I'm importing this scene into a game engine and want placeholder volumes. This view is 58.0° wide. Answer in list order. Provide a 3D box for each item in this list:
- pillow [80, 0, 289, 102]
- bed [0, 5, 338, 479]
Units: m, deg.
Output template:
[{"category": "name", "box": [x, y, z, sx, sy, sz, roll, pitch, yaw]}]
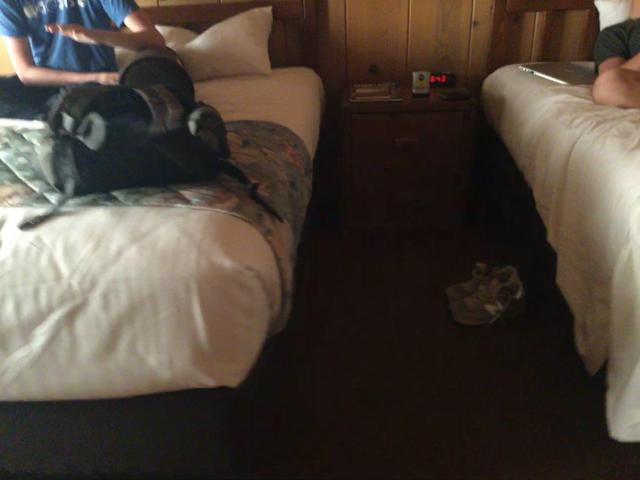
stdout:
[{"category": "pillow", "box": [-0.510, -0.790, 2.370, 0.700, 0.330, 0.460, 0, 26, 4]}, {"category": "bed", "box": [-0.750, -0.210, 1.870, 1.490, 0.850, 1.890, 0, 26, 5]}]
